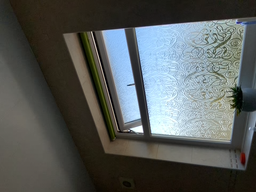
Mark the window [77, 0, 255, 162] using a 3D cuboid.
[{"bbox_3d":[0.370,-0.080,1.710,0.320,1.210,1.240,-64,-30,-51],"label":"window"}]
